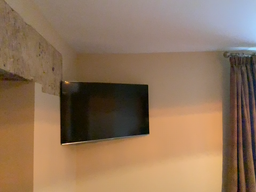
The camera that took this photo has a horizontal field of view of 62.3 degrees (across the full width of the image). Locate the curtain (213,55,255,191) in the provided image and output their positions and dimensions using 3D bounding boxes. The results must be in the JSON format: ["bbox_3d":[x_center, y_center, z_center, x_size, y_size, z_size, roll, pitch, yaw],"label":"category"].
[{"bbox_3d":[1.200,0.750,2.040,0.540,2.260,0.270,-1,-4,2],"label":"curtain"}]
